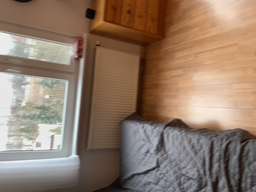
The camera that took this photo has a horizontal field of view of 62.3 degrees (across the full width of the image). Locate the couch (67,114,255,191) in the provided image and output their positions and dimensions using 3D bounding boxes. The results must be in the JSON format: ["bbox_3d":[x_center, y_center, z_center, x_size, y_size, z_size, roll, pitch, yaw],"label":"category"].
[{"bbox_3d":[0.270,0.770,1.610,2.100,0.900,1.100,-1,84,60],"label":"couch"}]

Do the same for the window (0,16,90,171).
[{"bbox_3d":[-1.230,-0.020,2.230,0.180,1.550,1.540,-4,82,60],"label":"window"}]
